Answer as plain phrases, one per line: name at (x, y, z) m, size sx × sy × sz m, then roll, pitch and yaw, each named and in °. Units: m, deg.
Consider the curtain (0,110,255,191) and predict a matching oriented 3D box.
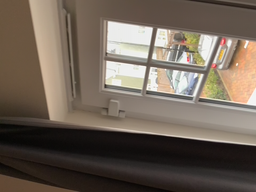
curtain at (0.530, 0.410, 0.740) m, size 0.250 × 2.330 × 0.360 m, roll -80°, pitch -2°, yaw -55°
